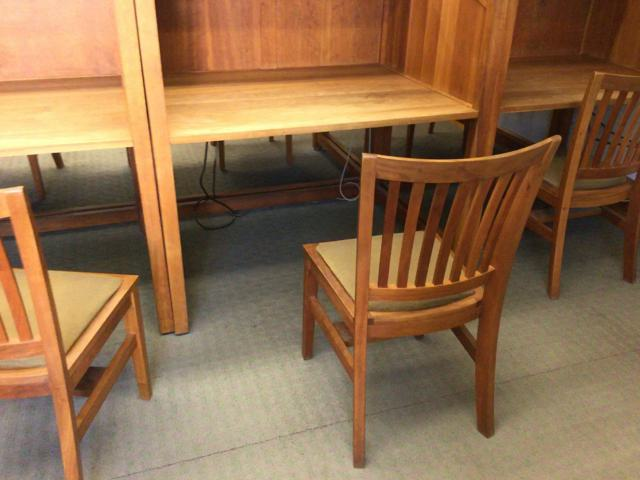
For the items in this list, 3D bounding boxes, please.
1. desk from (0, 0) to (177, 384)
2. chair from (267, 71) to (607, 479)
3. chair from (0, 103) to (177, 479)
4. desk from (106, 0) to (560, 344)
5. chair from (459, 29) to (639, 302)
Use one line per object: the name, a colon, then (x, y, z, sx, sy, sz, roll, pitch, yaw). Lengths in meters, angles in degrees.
desk: (-1.220, -0.400, 2.020, 1.320, 1.480, 1.010, -2, 27, -18)
chair: (0.230, 0.070, 1.710, 0.580, 0.960, 0.650, -2, 27, -18)
chair: (-0.770, 0.200, 1.440, 0.710, 0.930, 0.600, 4, 26, -6)
desk: (-0.090, -0.570, 2.400, 1.440, 1.510, 1.080, -2, 27, -18)
chair: (1.100, -0.320, 2.420, 0.620, 0.950, 0.590, -2, 27, -18)
